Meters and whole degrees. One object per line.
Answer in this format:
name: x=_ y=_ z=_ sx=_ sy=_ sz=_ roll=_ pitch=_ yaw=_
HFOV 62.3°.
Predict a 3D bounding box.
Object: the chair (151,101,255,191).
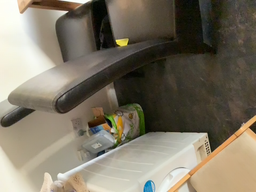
chair: x=0.520 y=0.420 z=0.920 sx=0.500 sy=0.780 sz=0.480 roll=48 pitch=130 yaw=25
